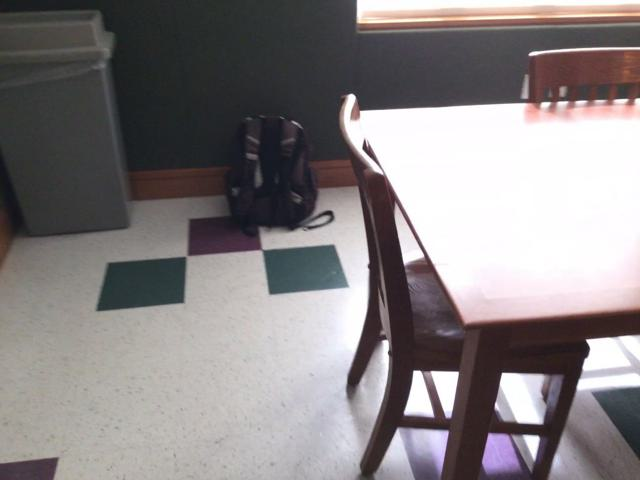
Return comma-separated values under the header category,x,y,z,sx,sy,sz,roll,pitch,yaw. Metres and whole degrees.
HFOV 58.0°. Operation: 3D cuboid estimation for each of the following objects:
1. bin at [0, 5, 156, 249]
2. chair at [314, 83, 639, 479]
category,x,y,z,sx,sy,sz,roll,pitch,yaw
bin,-1.010,-0.440,2.310,0.520,0.860,0.330,-6,32,-7
chair,0.320,0.180,1.340,0.560,0.880,0.600,-6,32,-7
